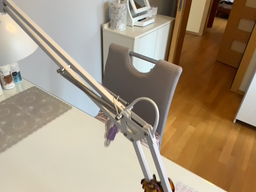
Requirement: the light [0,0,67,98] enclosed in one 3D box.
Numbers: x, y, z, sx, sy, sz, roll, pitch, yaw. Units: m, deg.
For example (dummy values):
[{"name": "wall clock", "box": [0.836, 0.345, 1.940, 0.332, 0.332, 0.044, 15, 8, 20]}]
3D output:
[{"name": "light", "box": [-0.300, -0.170, 0.540, 0.200, 0.140, 0.250, -41, 145, -39]}]
